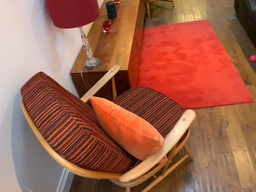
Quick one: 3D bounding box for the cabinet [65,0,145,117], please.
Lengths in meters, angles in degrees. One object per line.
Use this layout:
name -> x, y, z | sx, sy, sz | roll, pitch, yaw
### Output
cabinet -> -0.100, -0.710, 2.440 | 0.470, 0.570, 1.970 | -3, 44, 10
